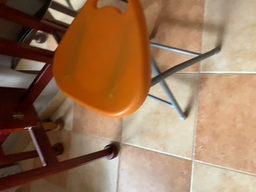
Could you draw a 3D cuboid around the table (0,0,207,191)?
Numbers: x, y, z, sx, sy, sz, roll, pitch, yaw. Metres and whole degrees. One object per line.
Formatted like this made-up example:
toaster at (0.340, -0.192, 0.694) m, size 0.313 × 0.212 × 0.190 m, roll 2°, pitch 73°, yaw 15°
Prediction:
table at (-0.330, 0.180, 0.720) m, size 0.700 × 0.750 × 0.690 m, roll -44°, pitch 66°, yaw 24°
